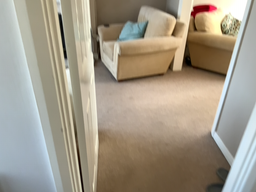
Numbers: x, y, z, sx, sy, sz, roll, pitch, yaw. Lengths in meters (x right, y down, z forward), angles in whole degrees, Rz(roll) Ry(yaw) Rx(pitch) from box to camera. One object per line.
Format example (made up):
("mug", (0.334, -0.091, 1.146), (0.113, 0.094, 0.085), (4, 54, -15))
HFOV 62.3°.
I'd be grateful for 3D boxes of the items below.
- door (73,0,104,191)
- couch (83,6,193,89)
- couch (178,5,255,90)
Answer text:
("door", (-0.210, -0.280, 1.260), (0.090, 2.030, 0.720), (-1, 31, -6))
("couch", (0.070, -0.850, 3.310), (1.230, 0.860, 1.140), (-11, 33, -21))
("couch", (1.650, -0.890, 3.460), (1.070, 0.890, 1.240), (23, 36, 30))
